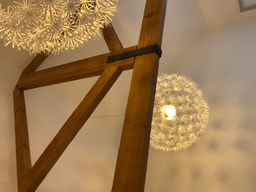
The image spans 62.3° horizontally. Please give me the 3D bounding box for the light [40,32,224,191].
[{"bbox_3d":[0.010,0.260,2.900,1.970,1.030,1.060,-30,38,7],"label":"light"}]
